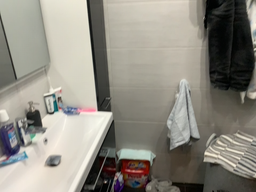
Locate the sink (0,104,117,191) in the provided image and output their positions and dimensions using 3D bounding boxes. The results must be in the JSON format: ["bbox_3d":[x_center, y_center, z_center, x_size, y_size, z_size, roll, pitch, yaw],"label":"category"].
[{"bbox_3d":[-0.350,0.300,1.100,0.430,0.180,0.790,2,23,8],"label":"sink"}]
